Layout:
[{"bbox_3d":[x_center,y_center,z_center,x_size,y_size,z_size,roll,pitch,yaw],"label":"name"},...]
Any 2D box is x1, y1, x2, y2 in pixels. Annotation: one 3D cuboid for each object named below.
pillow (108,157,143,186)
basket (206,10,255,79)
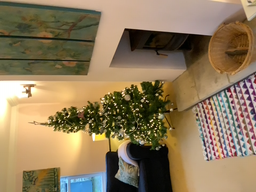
[{"bbox_3d":[-0.030,1.190,3.340,0.400,0.380,0.170,59,-152,-22],"label":"pillow"},{"bbox_3d":[0.870,-0.390,1.710,0.420,0.170,0.360,127,139,-62],"label":"basket"}]
